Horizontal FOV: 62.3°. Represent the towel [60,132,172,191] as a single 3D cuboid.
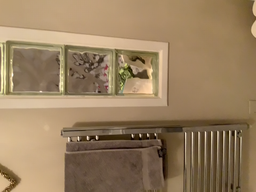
[{"bbox_3d":[-0.050,0.340,0.980,0.120,0.500,0.310,178,93,-71],"label":"towel"}]
